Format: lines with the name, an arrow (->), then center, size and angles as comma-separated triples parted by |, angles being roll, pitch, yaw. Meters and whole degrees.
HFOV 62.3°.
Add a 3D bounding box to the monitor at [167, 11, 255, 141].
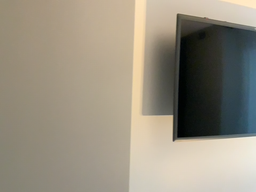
monitor -> 0.500, -0.060, 0.860 | 0.750, 0.430, 0.040 | 1, -177, -21
